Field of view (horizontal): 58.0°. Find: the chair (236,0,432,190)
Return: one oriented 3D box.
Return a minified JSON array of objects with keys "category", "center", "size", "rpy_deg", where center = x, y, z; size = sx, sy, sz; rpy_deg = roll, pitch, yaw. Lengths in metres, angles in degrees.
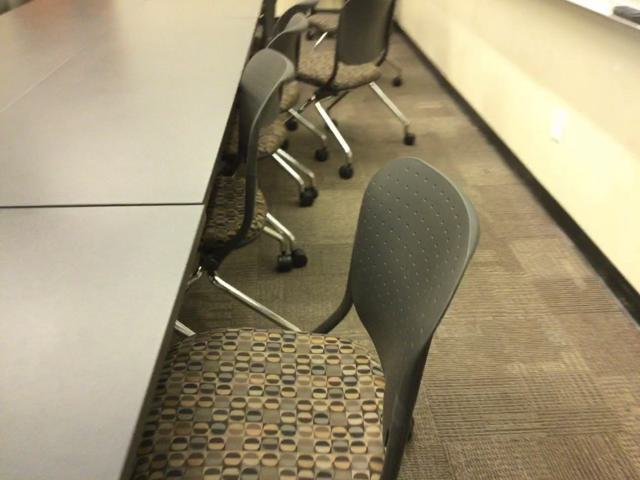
[{"category":"chair","center":[0.070,-0.830,2.940],"size":[0.740,0.870,0.580],"rpy_deg":[19,33,33]}]

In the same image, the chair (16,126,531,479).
[{"category":"chair","center":[-0.060,0.280,1.090],"size":[0.570,0.830,0.580],"rpy_deg":[-2,28,-3]}]

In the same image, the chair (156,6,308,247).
[{"category":"chair","center":[-0.290,-0.460,2.220],"size":[0.450,0.750,0.630],"rpy_deg":[-2,28,-3]}]
